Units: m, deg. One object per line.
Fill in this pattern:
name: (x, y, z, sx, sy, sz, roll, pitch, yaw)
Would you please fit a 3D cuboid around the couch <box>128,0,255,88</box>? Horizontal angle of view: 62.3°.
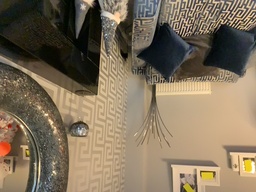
couch: (0.710, -0.610, 2.090, 1.360, 0.730, 1.080, 3, 166, -1)
